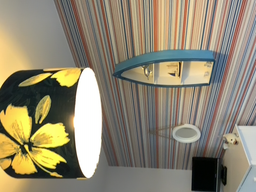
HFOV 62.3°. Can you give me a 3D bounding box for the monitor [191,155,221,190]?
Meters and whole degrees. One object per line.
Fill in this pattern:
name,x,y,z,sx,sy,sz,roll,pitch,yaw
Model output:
monitor,0.870,0.860,2.380,0.040,0.300,0.380,-43,-47,-80
